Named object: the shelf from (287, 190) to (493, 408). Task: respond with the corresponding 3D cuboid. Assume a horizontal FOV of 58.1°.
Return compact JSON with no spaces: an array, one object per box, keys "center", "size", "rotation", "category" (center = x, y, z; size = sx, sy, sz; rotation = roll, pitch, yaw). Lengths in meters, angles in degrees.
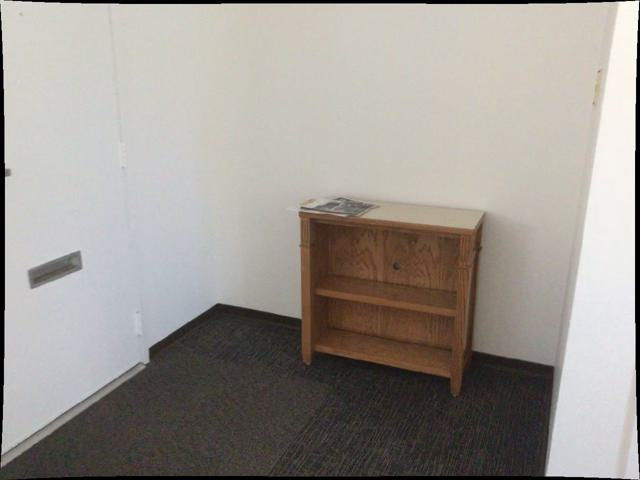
[{"center":[0.300,0.230,2.610],"size":[0.819,0.781,0.360],"rotation":[8,18,21],"category":"shelf"}]
